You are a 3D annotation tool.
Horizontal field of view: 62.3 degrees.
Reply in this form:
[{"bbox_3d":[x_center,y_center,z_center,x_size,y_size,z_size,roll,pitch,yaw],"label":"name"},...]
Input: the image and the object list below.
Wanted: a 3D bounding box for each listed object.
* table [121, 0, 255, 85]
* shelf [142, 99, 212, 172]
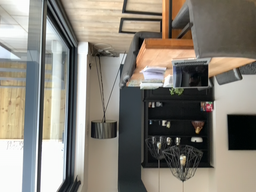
[{"bbox_3d":[0.500,-0.660,2.650,1.010,0.780,2.190,1,177,-6],"label":"table"},{"bbox_3d":[0.990,0.790,4.410,1.370,1.420,0.360,1,177,-4],"label":"shelf"}]
